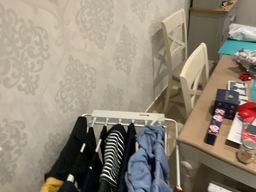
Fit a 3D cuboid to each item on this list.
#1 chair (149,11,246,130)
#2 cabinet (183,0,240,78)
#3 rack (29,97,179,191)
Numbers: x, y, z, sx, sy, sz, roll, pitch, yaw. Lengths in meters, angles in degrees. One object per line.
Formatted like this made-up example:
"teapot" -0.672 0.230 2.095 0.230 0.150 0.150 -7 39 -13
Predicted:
"chair" 0.620 -0.260 2.050 0.670 0.920 0.490 16 41 26
"cabinet" 1.160 -0.880 2.920 0.440 0.820 0.980 16 41 26
"rack" -0.060 0.610 1.030 0.540 0.730 0.990 4 37 12
